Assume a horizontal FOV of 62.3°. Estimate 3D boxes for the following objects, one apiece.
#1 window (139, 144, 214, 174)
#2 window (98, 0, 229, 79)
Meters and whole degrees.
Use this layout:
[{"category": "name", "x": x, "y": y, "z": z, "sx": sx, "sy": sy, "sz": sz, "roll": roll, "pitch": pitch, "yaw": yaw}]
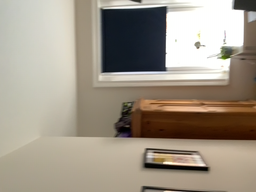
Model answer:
[{"category": "window", "x": 0.330, "y": 0.460, "z": 1.590, "sx": 0.410, "sy": 0.480, "sz": 0.070, "roll": -29, "pitch": -62, "yaw": -84}, {"category": "window", "x": 0.540, "y": -0.920, "z": 3.420, "sx": 0.110, "sy": 2.030, "sz": 1.270, "roll": -45, "pitch": -45, "yaw": -83}]
